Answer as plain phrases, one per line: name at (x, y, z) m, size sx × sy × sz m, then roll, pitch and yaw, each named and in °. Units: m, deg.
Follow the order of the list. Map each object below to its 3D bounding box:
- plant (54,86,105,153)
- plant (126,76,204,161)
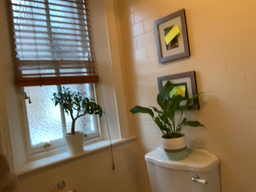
plant at (-0.360, 0.160, 1.610) m, size 0.140 × 0.440 × 0.300 m, roll -5°, pitch 3°, yaw 45°
plant at (0.240, 0.140, 1.470) m, size 0.190 × 0.490 × 0.460 m, roll -8°, pitch 3°, yaw -43°
